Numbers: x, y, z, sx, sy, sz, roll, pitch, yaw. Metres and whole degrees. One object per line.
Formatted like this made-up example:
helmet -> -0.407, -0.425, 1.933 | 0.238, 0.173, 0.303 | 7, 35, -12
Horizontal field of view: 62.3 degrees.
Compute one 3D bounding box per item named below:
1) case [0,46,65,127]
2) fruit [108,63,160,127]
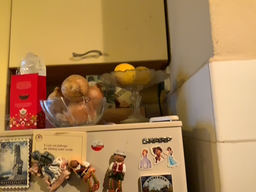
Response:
case -> -0.320, -0.020, 0.720 | 0.160, 0.240, 0.170 | -3, -8, 1
fruit -> 0.020, 0.010, 0.710 | 0.140, 0.180, 0.210 | -3, -8, 2
